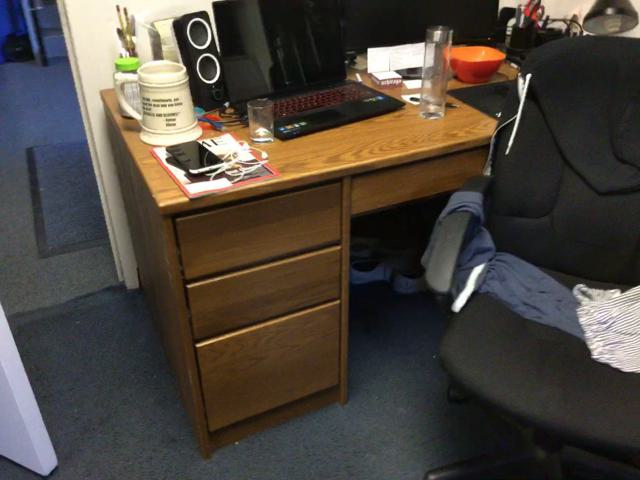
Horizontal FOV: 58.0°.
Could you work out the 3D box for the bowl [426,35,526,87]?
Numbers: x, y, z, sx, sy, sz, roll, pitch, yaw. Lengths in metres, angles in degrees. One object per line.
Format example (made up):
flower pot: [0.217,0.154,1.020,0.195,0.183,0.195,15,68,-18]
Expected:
bowl: [0.460,-0.540,1.730,0.190,0.090,0.210,-13,33,-22]

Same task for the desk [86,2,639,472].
desk: [0.200,-0.160,1.830,1.520,0.920,0.810,-13,33,-22]
